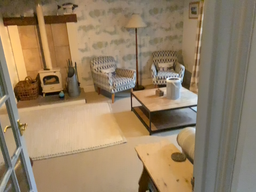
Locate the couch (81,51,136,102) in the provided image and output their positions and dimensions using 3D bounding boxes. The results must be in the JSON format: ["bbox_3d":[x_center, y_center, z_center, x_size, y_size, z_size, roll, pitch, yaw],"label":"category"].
[{"bbox_3d":[-0.430,-0.480,4.680,0.720,0.830,0.970,-18,25,-36],"label":"couch"}]

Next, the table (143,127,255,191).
[{"bbox_3d":[0.490,0.730,1.670,0.360,0.510,1.030,-9,21,-17],"label":"table"}]

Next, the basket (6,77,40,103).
[{"bbox_3d":[-2.160,-0.140,4.420,0.520,0.350,0.500,-8,21,-14],"label":"basket"}]

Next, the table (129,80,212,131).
[{"bbox_3d":[0.640,0.100,3.560,1.000,0.390,1.000,-8,21,-15],"label":"table"}]

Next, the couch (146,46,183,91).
[{"bbox_3d":[0.820,-0.680,5.010,0.730,0.870,0.900,-1,20,4],"label":"couch"}]
